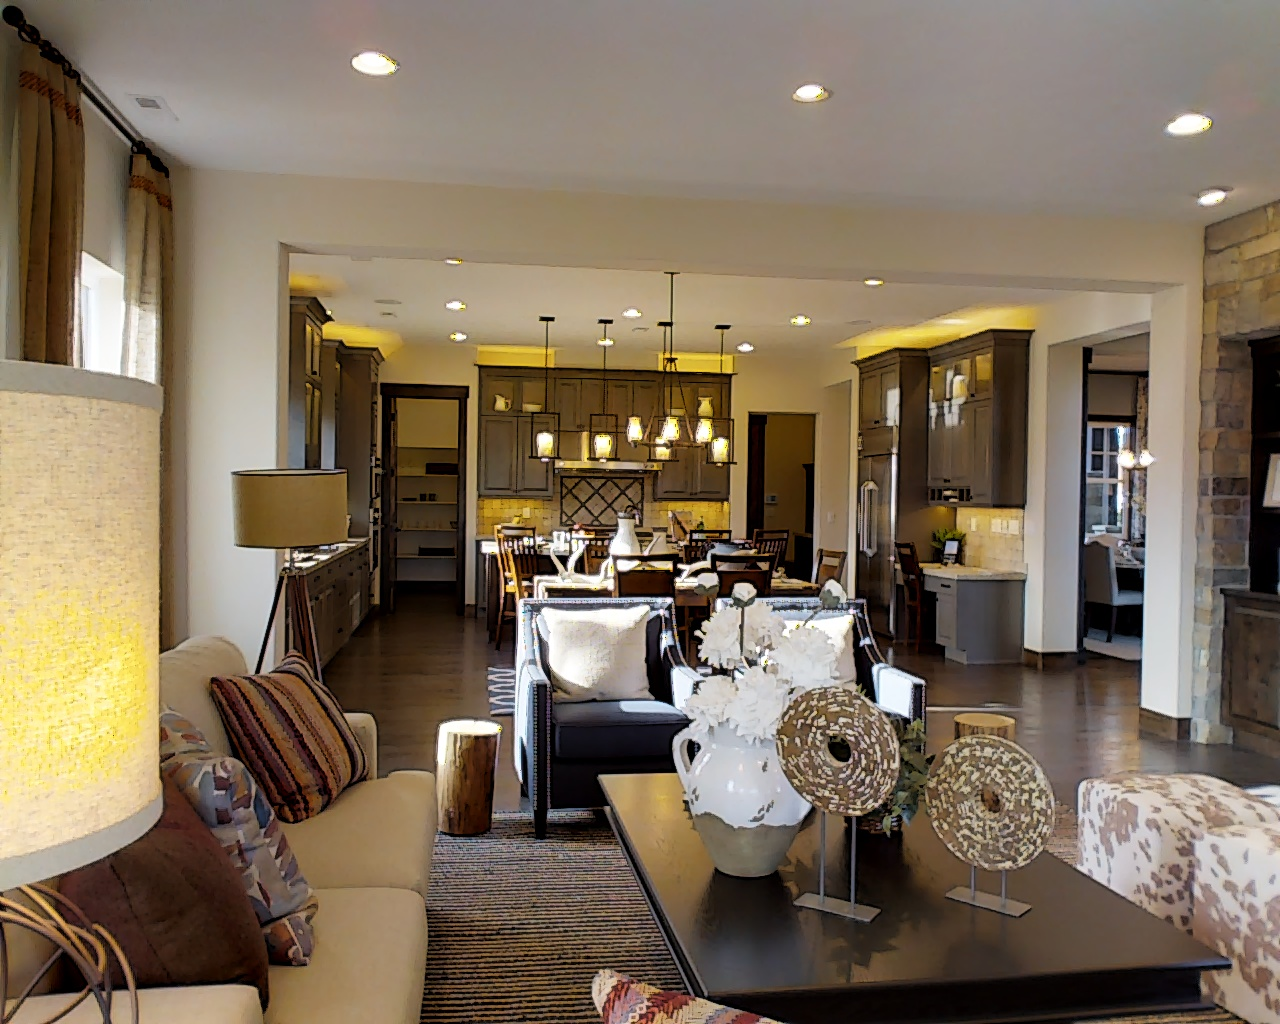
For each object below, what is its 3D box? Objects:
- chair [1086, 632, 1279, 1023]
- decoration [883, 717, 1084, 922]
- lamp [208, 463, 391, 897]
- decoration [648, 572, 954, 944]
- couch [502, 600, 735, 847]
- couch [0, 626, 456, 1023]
[{"bbox_3d":[1.730,0.940,3.120,0.520,1.090,0.570,0,1,-25],"label":"chair"},{"bbox_3d":[0.770,0.680,2.420,0.410,0.360,0.120,1,1,35],"label":"decoration"},{"bbox_3d":[-1.280,0.570,4.000,0.530,1.480,0.510,0,1,-32],"label":"lamp"},{"bbox_3d":[0.350,0.510,2.500,0.360,0.690,0.650,0,1,-32],"label":"decoration"},{"bbox_3d":[-0.130,0.880,4.740,0.890,0.900,0.820,1,1,-12],"label":"couch"},{"bbox_3d":[-1.000,0.870,2.490,1.090,0.930,2.290,1,1,-9],"label":"couch"}]
